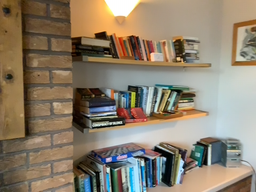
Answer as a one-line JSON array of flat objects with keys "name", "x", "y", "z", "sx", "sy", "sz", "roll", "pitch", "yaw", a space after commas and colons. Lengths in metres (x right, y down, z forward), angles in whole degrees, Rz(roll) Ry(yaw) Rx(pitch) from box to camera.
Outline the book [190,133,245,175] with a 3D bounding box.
[{"name": "book", "x": 0.940, "y": 0.590, "z": 2.230, "sx": 0.460, "sy": 0.260, "sz": 0.300, "roll": -3, "pitch": 7, "yaw": -31}]

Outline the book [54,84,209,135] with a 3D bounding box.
[{"name": "book", "x": 0.120, "y": 0.060, "z": 1.780, "sx": 1.370, "sy": 0.290, "sz": 0.240, "roll": -3, "pitch": 7, "yaw": -31}]

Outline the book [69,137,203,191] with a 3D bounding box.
[{"name": "book", "x": 0.130, "y": 0.600, "z": 1.760, "sx": 1.180, "sy": 0.300, "sz": 0.210, "roll": -3, "pitch": 7, "yaw": -31}]

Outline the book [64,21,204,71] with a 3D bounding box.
[{"name": "book", "x": 0.140, "y": -0.360, "z": 1.740, "sx": 1.270, "sy": 0.290, "sz": 0.160, "roll": -3, "pitch": 7, "yaw": -33}]
